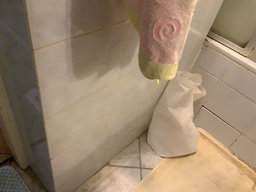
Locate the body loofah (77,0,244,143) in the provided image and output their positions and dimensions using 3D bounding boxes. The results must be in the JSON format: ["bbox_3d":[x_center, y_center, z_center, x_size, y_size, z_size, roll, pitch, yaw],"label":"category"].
[{"bbox_3d":[0.120,-0.350,0.280,0.290,1.010,0.200,-30,60,-35],"label":"body loofah"}]
